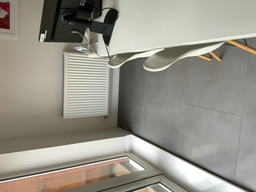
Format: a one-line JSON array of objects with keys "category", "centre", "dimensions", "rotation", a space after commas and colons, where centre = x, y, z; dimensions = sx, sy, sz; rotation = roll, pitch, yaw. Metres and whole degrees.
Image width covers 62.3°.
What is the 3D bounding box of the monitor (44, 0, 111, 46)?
[{"category": "monitor", "centre": [-0.370, -0.600, 1.570], "dimensions": [0.040, 0.420, 0.460], "rotation": [60, 138, 37]}]
